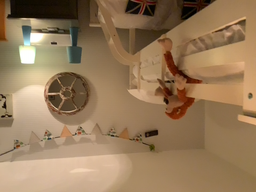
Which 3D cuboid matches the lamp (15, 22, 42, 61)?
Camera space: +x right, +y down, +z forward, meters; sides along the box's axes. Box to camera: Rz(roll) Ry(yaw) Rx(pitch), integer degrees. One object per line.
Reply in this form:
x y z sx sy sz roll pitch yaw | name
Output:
-1.040 -0.560 2.230 0.190 0.360 0.220 -1 -176 -8 | lamp
